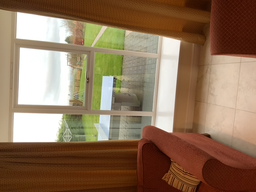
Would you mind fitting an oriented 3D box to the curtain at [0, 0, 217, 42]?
[{"bbox_3d":[-0.200,-1.200,2.230,0.220,2.520,0.930,-150,64,-72],"label":"curtain"}]

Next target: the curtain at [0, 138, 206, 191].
[{"bbox_3d":[-0.320,0.930,2.400,0.200,2.550,0.850,-157,71,-73],"label":"curtain"}]

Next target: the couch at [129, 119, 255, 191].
[{"bbox_3d":[0.550,1.300,2.030,1.040,0.860,1.960,-158,71,-73],"label":"couch"}]
